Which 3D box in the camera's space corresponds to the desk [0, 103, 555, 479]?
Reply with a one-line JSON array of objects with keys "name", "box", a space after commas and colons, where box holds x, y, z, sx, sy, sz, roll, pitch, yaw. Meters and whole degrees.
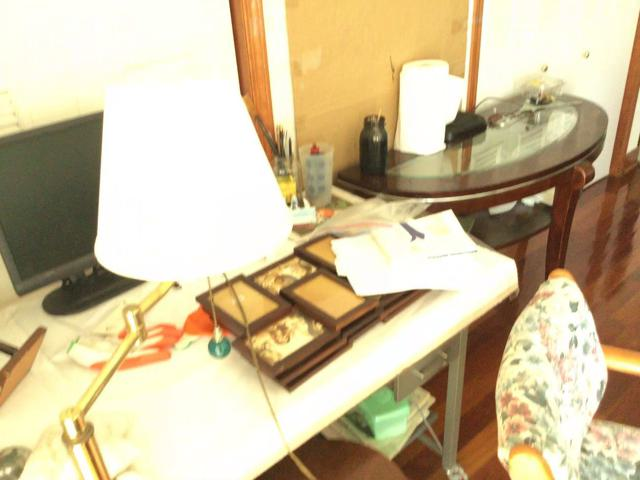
[{"name": "desk", "box": [-0.280, 0.440, 1.410, 1.510, 0.910, 0.810, -30, 41, -27]}]
